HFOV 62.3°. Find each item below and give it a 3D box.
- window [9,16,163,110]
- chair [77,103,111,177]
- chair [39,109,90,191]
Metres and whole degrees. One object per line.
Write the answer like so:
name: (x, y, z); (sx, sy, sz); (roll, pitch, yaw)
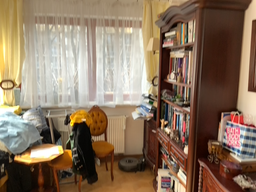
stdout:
window: (-0.550, -0.450, 3.130); (2.120, 1.290, 0.140); (0, 9, -8)
chair: (-0.480, 0.600, 3.030); (0.440, 0.940, 0.410); (-1, 9, -10)
chair: (-0.730, 0.670, 2.560); (0.500, 0.940, 0.440); (0, 9, -8)
